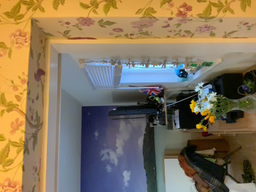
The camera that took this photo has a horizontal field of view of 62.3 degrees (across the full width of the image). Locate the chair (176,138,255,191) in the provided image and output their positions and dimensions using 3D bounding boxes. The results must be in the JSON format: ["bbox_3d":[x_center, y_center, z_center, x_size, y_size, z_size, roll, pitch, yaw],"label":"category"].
[{"bbox_3d":[1.200,1.070,2.980,0.680,0.780,0.640,-95,5,-47],"label":"chair"}]
